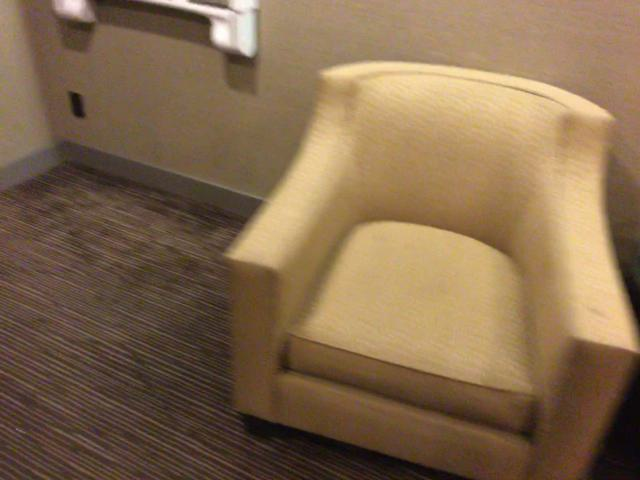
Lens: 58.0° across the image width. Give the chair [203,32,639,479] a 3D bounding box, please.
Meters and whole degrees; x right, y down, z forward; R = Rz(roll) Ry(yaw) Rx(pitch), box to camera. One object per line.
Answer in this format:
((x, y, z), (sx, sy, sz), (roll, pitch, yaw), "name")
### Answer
((0.300, 0.040, 1.590), (0.880, 0.900, 0.980), (12, 31, 10), "chair")
